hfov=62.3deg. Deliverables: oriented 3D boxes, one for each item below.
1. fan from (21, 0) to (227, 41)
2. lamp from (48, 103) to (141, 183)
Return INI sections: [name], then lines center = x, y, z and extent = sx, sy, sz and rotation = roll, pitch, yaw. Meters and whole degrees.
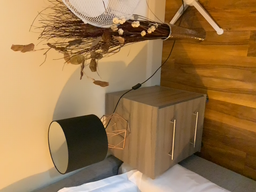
[fan]
center = 0.070, -0.510, 1.010
extent = 0.380, 0.980, 0.420
rotation = 21, 113, 43
[lamp]
center = -0.170, 0.210, 1.120
extent = 0.290, 0.380, 0.240
rotation = 14, 108, 45
